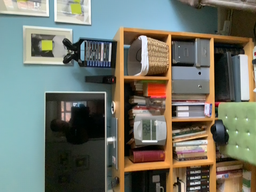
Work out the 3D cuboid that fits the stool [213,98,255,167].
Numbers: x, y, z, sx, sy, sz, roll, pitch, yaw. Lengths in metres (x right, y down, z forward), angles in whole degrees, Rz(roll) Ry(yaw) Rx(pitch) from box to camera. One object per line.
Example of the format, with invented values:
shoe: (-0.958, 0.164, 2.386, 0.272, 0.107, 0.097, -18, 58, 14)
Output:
stool: (0.850, 0.210, 1.410, 0.380, 0.380, 0.380, 175, 96, -75)
